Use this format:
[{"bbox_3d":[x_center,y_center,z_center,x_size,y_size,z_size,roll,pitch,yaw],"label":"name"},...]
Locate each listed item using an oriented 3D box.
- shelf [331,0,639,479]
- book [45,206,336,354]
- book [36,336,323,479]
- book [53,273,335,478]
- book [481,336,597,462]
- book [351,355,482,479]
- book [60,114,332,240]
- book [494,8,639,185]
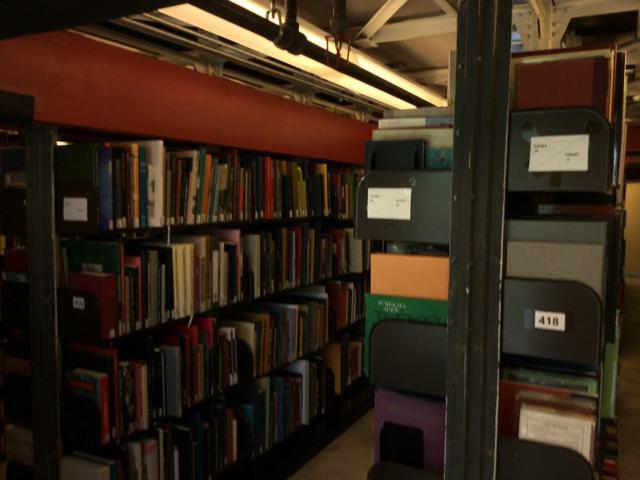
[{"bbox_3d":[0.680,0.320,1.940,0.680,2.070,1.510,2,5,28],"label":"shelf"},{"bbox_3d":[-0.450,0.090,2.710,0.390,0.460,1.590,2,5,27],"label":"book"},{"bbox_3d":[-0.500,0.860,2.650,0.390,0.480,1.480,2,5,27],"label":"book"},{"bbox_3d":[-0.430,0.500,2.710,0.310,0.470,1.630,2,5,27],"label":"book"},{"bbox_3d":[0.550,0.380,1.440,0.240,0.210,0.220,2,5,27],"label":"book"},{"bbox_3d":[0.260,0.550,1.560,0.300,0.400,0.190,2,5,27],"label":"book"},{"bbox_3d":[-0.410,-0.260,2.590,0.290,0.400,1.510,2,5,27],"label":"book"},{"bbox_3d":[0.570,-0.300,1.330,0.270,0.340,0.280,2,5,27],"label":"book"}]
